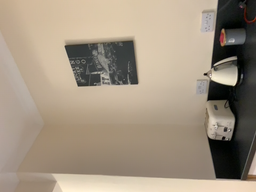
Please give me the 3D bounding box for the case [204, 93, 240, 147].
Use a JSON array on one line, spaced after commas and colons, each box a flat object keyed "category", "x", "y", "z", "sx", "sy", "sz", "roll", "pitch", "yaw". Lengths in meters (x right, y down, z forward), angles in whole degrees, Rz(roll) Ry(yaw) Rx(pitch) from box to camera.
[{"category": "case", "x": 0.810, "y": 0.210, "z": 1.880, "sx": 0.330, "sy": 0.190, "sz": 0.330, "roll": -79, "pitch": -16, "yaw": -50}]
